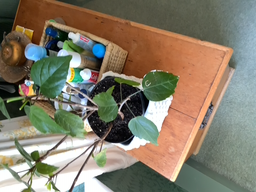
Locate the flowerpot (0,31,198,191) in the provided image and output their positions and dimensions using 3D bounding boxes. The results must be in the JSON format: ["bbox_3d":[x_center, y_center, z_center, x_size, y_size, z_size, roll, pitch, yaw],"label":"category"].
[{"bbox_3d":[-0.030,0.090,0.480,0.180,0.520,0.290,27,101,25],"label":"flowerpot"}]
